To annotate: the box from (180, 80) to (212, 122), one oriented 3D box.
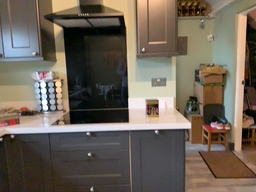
[{"bbox_3d":[1.150,0.070,3.640,0.380,0.640,0.440,-1,9,0],"label":"box"}]
